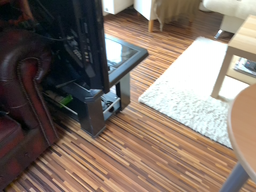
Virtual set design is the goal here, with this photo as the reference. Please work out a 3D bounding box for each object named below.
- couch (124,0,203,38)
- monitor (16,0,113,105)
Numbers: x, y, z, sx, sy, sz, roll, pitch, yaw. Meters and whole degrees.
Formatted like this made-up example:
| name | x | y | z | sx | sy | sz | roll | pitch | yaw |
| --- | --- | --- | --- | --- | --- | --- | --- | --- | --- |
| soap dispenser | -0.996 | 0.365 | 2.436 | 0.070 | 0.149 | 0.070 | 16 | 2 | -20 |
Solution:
| name | x | y | z | sx | sy | sz | roll | pitch | yaw |
| --- | --- | --- | --- | --- | --- | --- | --- | --- | --- |
| couch | 0.380 | -1.170 | 2.410 | 0.650 | 0.640 | 0.670 | -18 | 47 | -17 |
| monitor | -0.390 | -0.500 | 0.940 | 0.080 | 0.680 | 0.990 | -27 | 50 | -25 |
